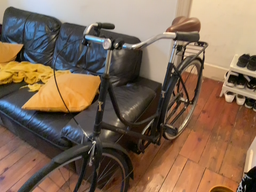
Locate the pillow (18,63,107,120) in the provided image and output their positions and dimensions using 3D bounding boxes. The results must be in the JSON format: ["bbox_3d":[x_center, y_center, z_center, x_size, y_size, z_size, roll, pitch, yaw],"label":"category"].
[{"bbox_3d":[-0.450,-0.060,1.600,0.480,0.090,0.510,6,39,5],"label":"pillow"}]

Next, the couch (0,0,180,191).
[{"bbox_3d":[-0.800,-0.210,1.970,2.190,0.770,0.950,23,43,24],"label":"couch"}]

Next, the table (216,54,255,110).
[{"bbox_3d":[1.350,-0.120,2.240,0.650,0.400,0.310,21,42,22],"label":"table"}]
